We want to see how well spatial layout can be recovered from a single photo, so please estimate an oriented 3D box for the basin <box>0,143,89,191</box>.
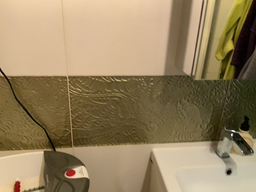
[{"bbox_3d":[-0.360,0.320,0.680,0.440,0.160,0.330,0,24,-6],"label":"basin"}]
